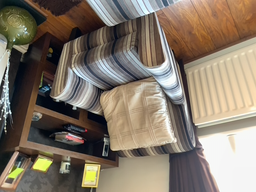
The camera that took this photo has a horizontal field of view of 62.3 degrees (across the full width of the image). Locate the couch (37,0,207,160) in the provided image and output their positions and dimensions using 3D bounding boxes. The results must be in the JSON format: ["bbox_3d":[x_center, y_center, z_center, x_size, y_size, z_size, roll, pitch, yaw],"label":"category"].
[{"bbox_3d":[0.030,-0.060,1.560,0.770,0.830,0.860,-14,149,25],"label":"couch"}]
